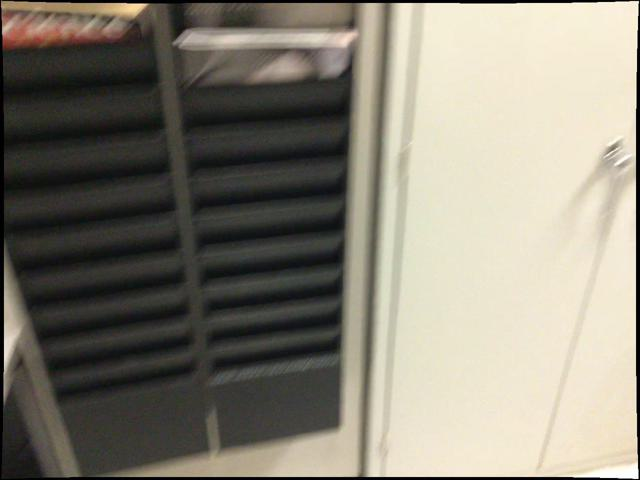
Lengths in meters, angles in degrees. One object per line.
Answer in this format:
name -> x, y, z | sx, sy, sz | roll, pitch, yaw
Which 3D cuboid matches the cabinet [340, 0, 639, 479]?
cabinet -> 0.509, -0.200, 1.000 | 0.918, 1.993, 0.110 | -5, 32, -7
